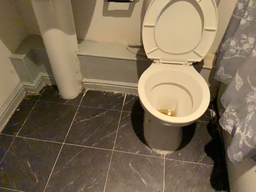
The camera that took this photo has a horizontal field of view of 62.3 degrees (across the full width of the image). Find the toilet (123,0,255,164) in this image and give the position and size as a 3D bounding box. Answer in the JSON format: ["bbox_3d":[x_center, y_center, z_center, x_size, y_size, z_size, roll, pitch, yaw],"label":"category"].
[{"bbox_3d":[0.250,-0.150,1.170,0.450,0.790,0.680,7,47,4],"label":"toilet"}]
